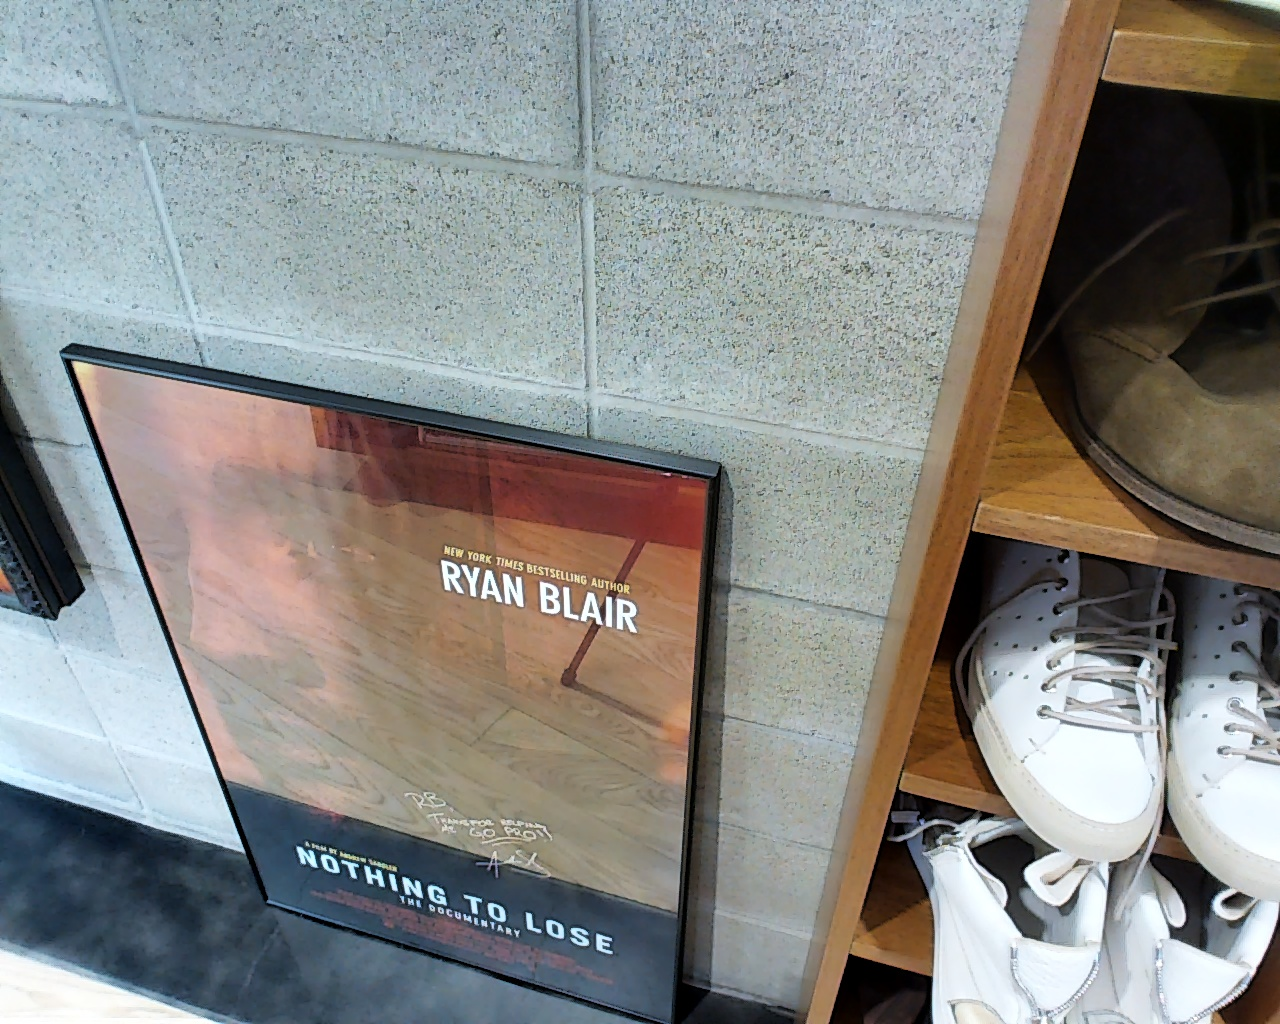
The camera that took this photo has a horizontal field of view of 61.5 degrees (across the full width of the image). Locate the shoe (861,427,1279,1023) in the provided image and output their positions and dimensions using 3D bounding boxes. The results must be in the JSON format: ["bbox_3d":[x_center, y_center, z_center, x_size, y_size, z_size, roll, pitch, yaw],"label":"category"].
[{"bbox_3d":[0.340,0.210,0.810,0.260,0.390,0.330,11,44,11],"label":"shoe"}]
